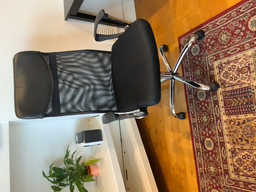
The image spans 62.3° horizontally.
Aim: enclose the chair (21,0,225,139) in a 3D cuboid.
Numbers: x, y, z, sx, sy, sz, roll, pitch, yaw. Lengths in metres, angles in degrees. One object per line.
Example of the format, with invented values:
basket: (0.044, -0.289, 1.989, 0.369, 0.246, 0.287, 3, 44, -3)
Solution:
chair: (-0.100, -0.120, 1.470, 0.820, 1.090, 0.680, -21, 73, 59)
